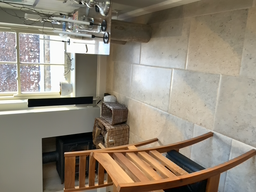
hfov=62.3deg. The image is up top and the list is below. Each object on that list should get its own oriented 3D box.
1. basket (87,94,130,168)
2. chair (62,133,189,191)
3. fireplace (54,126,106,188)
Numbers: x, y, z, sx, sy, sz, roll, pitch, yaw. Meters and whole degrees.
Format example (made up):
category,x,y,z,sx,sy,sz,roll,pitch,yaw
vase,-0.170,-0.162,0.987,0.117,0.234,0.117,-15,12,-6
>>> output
category,x,y,z,sx,sy,sz,roll,pitch,yaw
basket,-0.340,0.510,3.390,0.690,0.400,0.960,22,111,58
chair,-0.030,0.770,2.140,0.590,1.100,0.460,25,114,57
fireplace,-0.930,1.100,4.010,0.530,0.820,0.850,23,112,58
